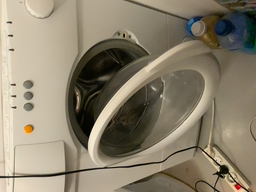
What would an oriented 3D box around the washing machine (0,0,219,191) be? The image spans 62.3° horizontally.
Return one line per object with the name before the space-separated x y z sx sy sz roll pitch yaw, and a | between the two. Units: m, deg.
washing machine | -0.110 -0.030 0.880 0.520 0.840 0.620 12 101 48
